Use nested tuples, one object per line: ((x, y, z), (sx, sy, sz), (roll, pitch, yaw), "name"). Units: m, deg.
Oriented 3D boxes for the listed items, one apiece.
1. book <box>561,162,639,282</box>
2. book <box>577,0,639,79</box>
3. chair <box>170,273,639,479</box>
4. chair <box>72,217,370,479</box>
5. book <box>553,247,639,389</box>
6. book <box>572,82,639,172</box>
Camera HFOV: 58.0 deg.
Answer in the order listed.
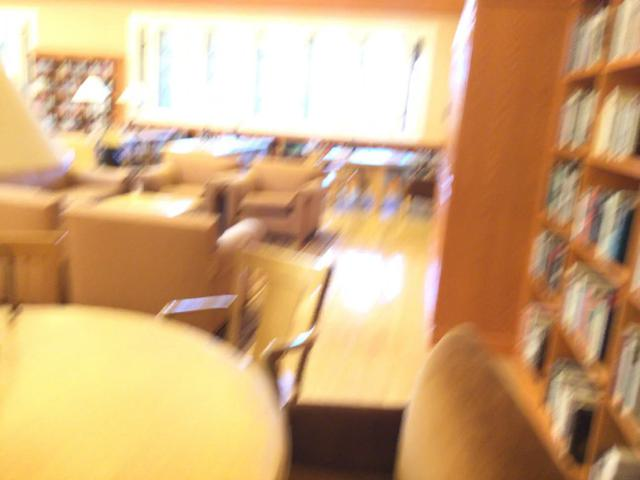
((1.160, -0.100, 2.310), (0.180, 0.350, 0.680), (7, 14, 10), "book")
((1.200, -0.820, 2.200), (0.140, 0.340, 1.000), (7, 14, 10), "book")
((0.110, 0.700, 1.390), (0.740, 0.970, 0.890), (4, 14, -2), "chair")
((-0.330, 0.490, 2.130), (0.640, 0.950, 0.840), (12, 16, 28), "chair")
((1.180, 0.290, 2.360), (0.260, 0.350, 0.650), (7, 14, 10), "book")
((1.180, -0.450, 2.290), (0.170, 0.300, 0.590), (7, 14, 10), "book")
